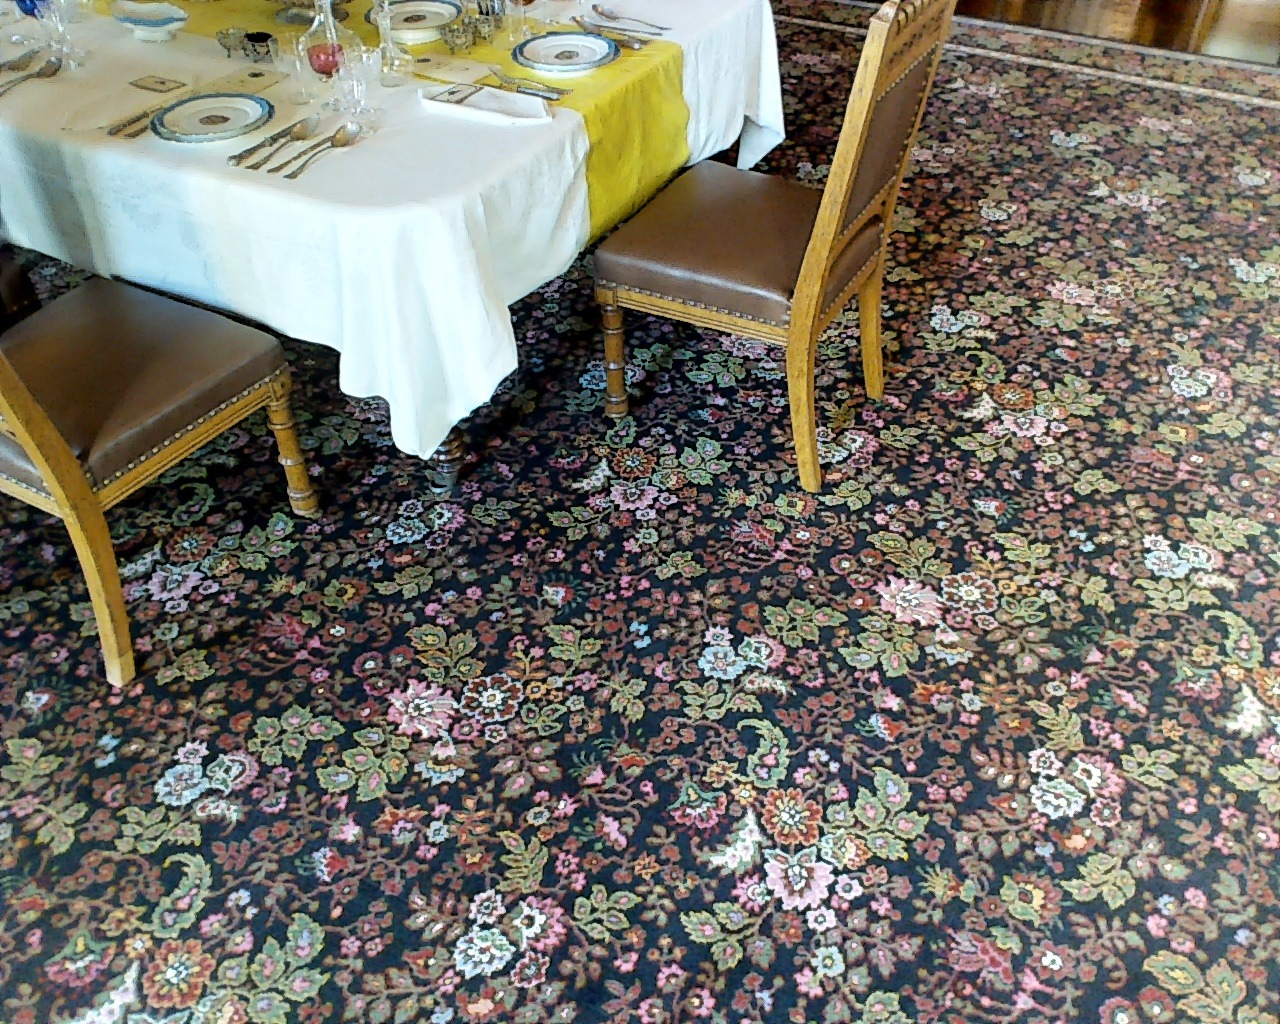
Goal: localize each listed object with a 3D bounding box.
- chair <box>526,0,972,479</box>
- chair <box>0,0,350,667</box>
[{"bbox_3d":[0.230,-0.720,2.350,0.690,0.980,0.590,20,46,21],"label":"chair"},{"bbox_3d":[-1.020,-0.340,1.930,0.560,0.970,0.590,20,46,21],"label":"chair"}]
